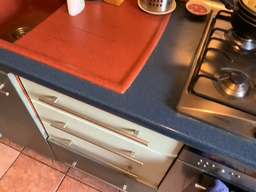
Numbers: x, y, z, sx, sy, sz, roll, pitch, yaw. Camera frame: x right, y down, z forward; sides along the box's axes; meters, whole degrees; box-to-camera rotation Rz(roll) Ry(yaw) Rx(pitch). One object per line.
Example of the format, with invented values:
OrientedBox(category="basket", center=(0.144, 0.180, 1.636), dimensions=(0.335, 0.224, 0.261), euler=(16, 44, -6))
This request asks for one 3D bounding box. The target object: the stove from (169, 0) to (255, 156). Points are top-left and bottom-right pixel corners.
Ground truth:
OrientedBox(category="stove", center=(0.530, -0.040, 0.590), dimensions=(0.690, 0.040, 0.590), euler=(21, 53, 11))

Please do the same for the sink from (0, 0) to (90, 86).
OrientedBox(category="sink", center=(-0.430, -0.320, 0.880), dimensions=(0.360, 0.220, 0.430), euler=(21, 53, 11))
